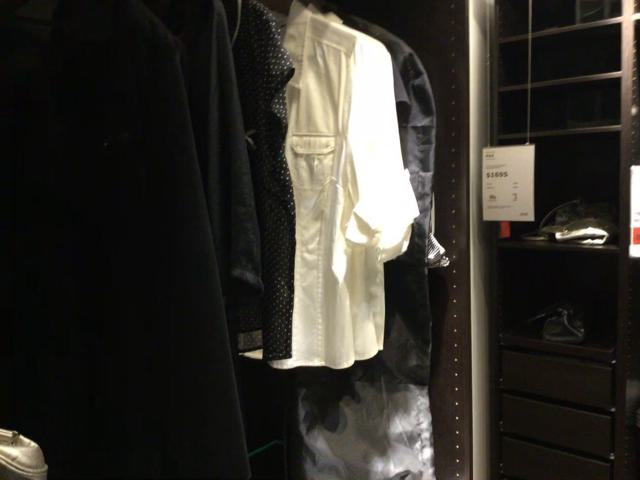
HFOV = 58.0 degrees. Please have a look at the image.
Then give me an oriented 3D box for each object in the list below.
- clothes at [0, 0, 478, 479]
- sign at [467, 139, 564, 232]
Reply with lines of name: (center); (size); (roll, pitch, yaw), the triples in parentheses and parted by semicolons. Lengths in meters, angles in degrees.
clothes: (-0.090, 0.130, 1.040); (0.400, 1.270, 0.750); (1, 6, 43)
sign: (0.770, -0.210, 2.290); (0.320, 0.340, 0.160); (1, 6, 42)
